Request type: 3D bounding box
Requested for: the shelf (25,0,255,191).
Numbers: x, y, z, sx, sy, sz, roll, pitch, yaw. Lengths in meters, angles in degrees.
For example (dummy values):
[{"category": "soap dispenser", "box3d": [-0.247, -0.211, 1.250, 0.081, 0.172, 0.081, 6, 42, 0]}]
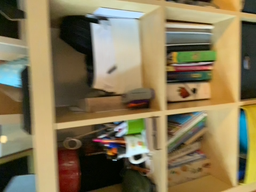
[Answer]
[{"category": "shelf", "box3d": [0.330, -0.330, 1.010, 0.460, 1.470, 1.510, -169, 76, -64]}]
